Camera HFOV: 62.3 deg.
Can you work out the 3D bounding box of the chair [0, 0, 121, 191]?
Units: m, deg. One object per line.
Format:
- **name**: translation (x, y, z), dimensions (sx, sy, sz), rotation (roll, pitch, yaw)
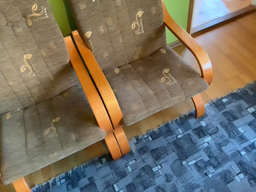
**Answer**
- **chair**: translation (-0.540, -0.040, 1.160), dimensions (0.650, 0.990, 0.720), rotation (-24, 54, -11)
